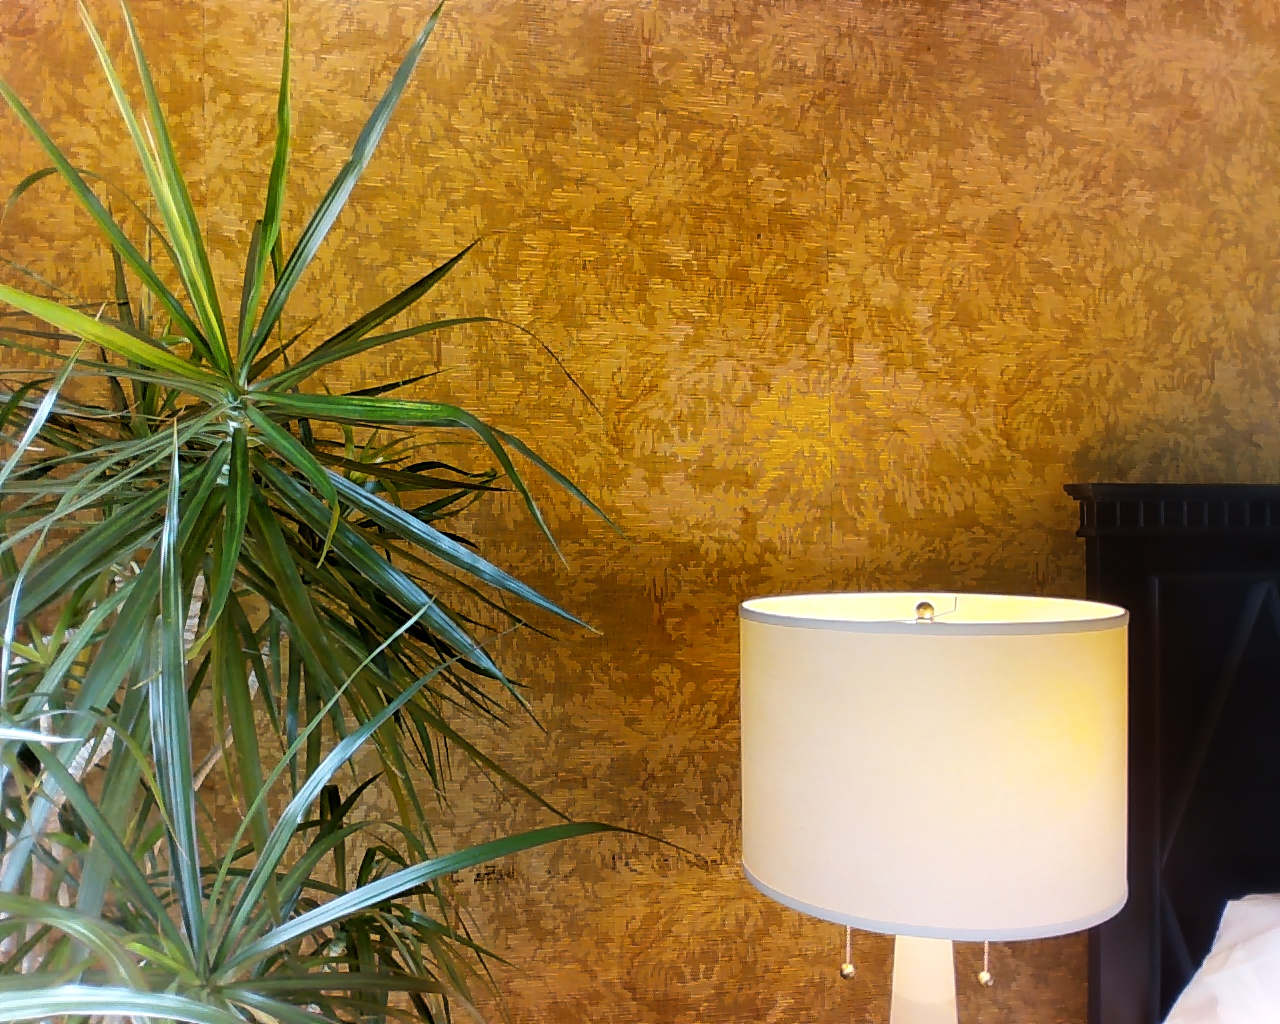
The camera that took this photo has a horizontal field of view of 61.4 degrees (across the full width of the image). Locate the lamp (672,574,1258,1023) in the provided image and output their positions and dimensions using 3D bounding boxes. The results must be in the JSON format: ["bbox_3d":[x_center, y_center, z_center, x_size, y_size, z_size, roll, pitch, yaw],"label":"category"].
[{"bbox_3d":[0.360,0.520,1.380,0.530,0.840,0.510,0,1,-12],"label":"lamp"}]
